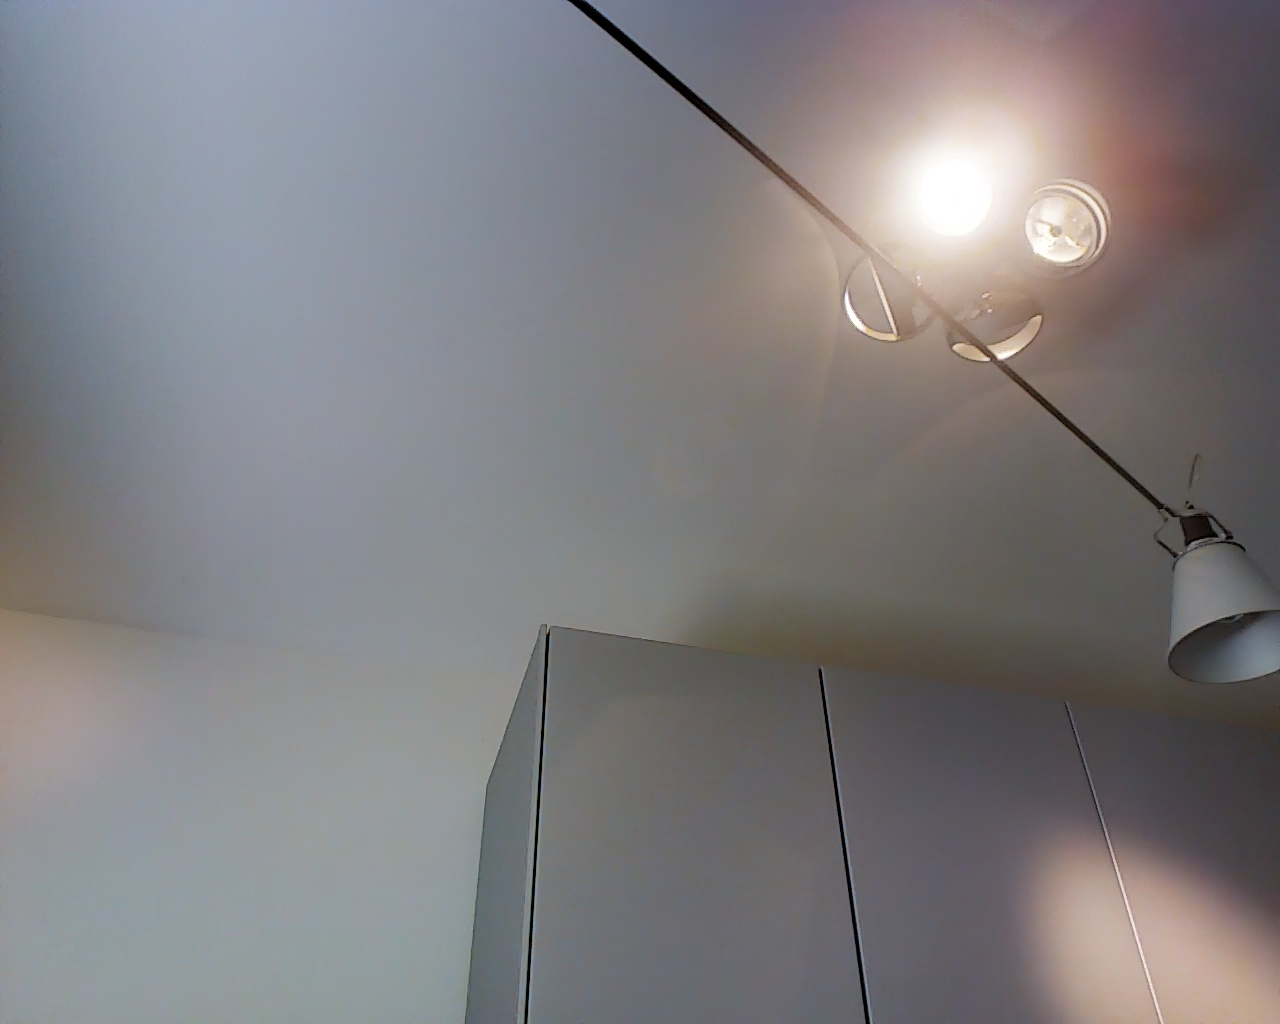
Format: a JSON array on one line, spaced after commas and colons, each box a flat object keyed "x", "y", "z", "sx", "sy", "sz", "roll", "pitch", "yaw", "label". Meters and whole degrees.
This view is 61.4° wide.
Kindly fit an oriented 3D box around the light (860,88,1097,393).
[{"x": 0.460, "y": -0.370, "z": 1.460, "sx": 0.180, "sy": 0.300, "sz": 0.240, "roll": 25, "pitch": -43, "yaw": 3, "label": "light"}]
